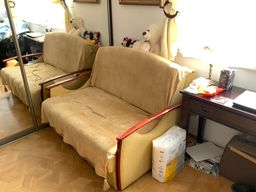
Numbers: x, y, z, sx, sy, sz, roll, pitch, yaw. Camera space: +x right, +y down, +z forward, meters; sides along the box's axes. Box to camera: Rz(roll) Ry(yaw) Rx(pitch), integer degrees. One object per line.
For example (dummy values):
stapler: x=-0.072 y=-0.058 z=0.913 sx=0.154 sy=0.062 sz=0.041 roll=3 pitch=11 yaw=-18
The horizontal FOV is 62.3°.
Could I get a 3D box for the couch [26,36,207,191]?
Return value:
couch: x=-0.150 y=0.010 z=2.220 sx=1.130 sy=0.930 sz=1.330 roll=-22 pitch=33 yaw=-37
